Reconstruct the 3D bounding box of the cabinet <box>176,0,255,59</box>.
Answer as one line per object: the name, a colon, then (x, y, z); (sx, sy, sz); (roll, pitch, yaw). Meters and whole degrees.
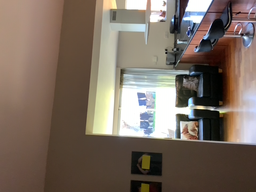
cabinet: (1.580, -1.470, 3.900); (2.410, 0.890, 0.740); (80, -166, -80)
